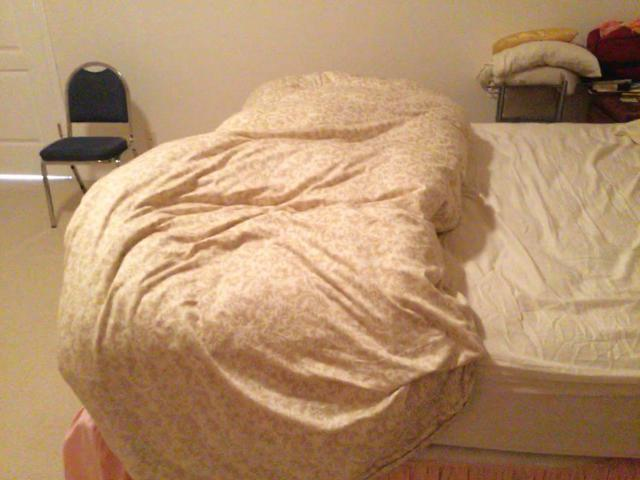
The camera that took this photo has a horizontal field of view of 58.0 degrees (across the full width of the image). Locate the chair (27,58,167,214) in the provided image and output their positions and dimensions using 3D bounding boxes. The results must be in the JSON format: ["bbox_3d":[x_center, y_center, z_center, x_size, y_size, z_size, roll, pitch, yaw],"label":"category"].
[{"bbox_3d":[-1.190,-0.590,3.200,0.430,0.700,0.550,5,27,7],"label":"chair"}]

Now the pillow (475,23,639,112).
[{"bbox_3d":[1.210,-0.920,3.040,0.680,0.350,0.420,5,27,7],"label":"pillow"}]
